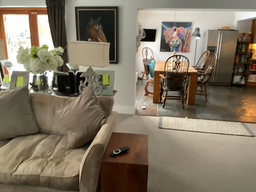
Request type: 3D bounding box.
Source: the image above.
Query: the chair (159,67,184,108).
[{"bbox_3d":[0.950,-0.200,4.720,0.440,0.820,0.480,3,16,4],"label":"chair"}]
